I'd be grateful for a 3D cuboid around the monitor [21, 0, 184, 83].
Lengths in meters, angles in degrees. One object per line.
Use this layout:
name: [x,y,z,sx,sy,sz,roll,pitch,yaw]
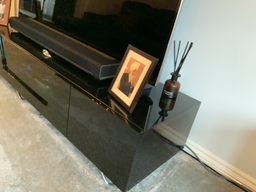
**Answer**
monitor: [-0.270,-0.660,1.110,1.320,0.760,0.040,29,29,36]
